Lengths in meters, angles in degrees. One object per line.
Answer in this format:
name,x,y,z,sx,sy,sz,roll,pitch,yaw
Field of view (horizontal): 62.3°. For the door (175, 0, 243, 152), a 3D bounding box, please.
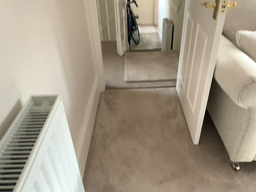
door,0.520,-0.670,1.400,0.130,2.090,0.850,1,34,4
